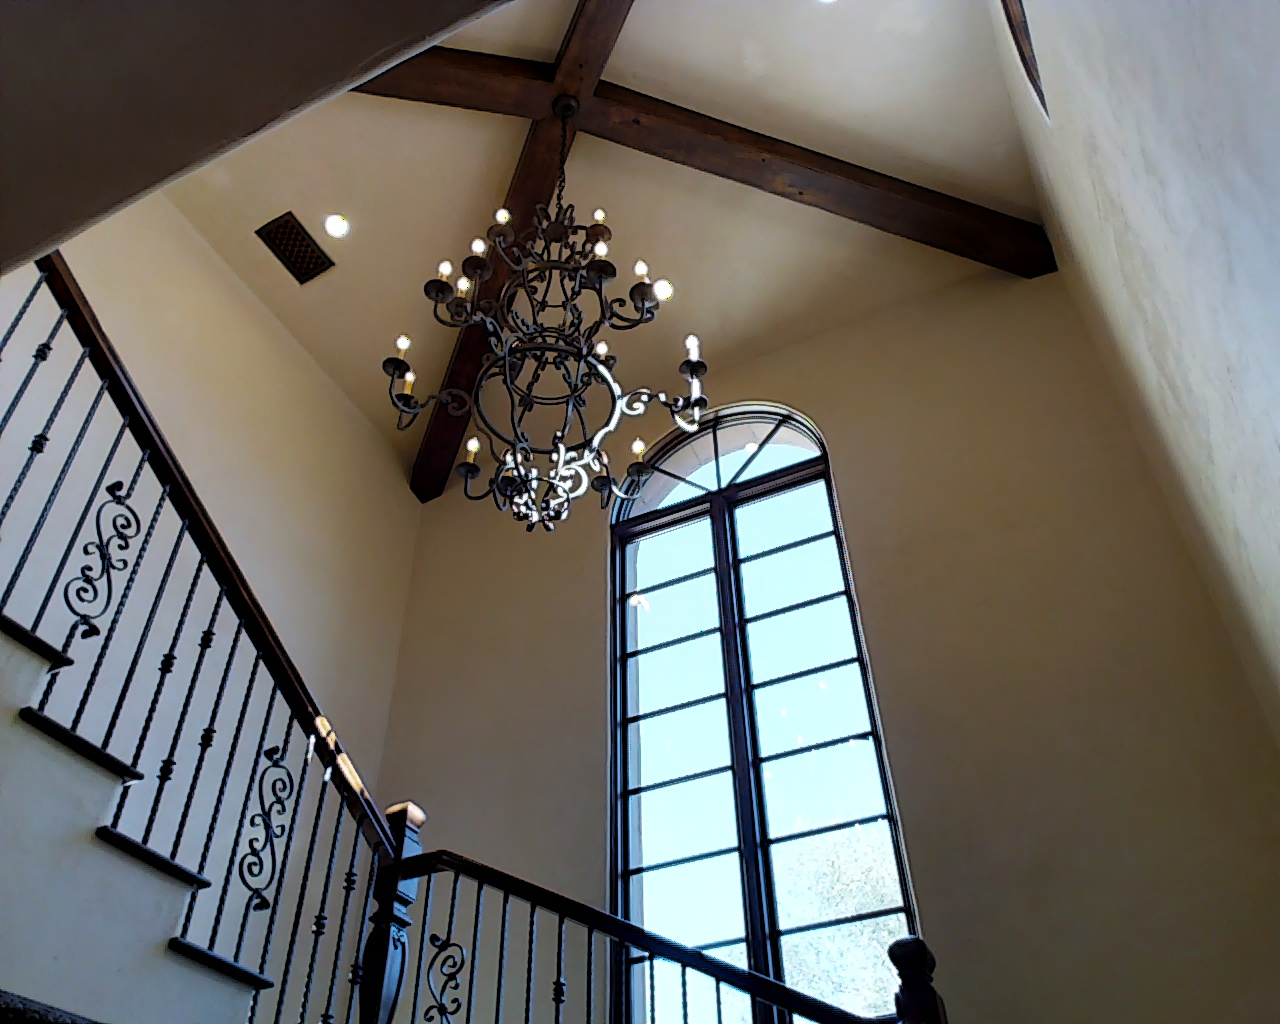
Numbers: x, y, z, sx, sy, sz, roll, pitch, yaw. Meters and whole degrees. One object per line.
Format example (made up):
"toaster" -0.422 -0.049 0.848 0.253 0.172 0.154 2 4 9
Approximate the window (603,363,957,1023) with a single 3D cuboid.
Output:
"window" 0.470 0.690 4.990 1.290 3.410 0.190 -18 -45 19

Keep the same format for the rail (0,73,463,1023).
"rail" -1.320 0.370 2.920 0.080 2.410 2.520 -18 -45 18
